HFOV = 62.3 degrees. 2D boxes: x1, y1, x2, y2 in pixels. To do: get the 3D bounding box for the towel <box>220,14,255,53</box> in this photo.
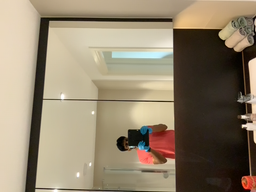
[{"bbox_3d":[0.730,-0.410,1.410,0.150,0.160,0.200,88,-177,-79],"label":"towel"}]
